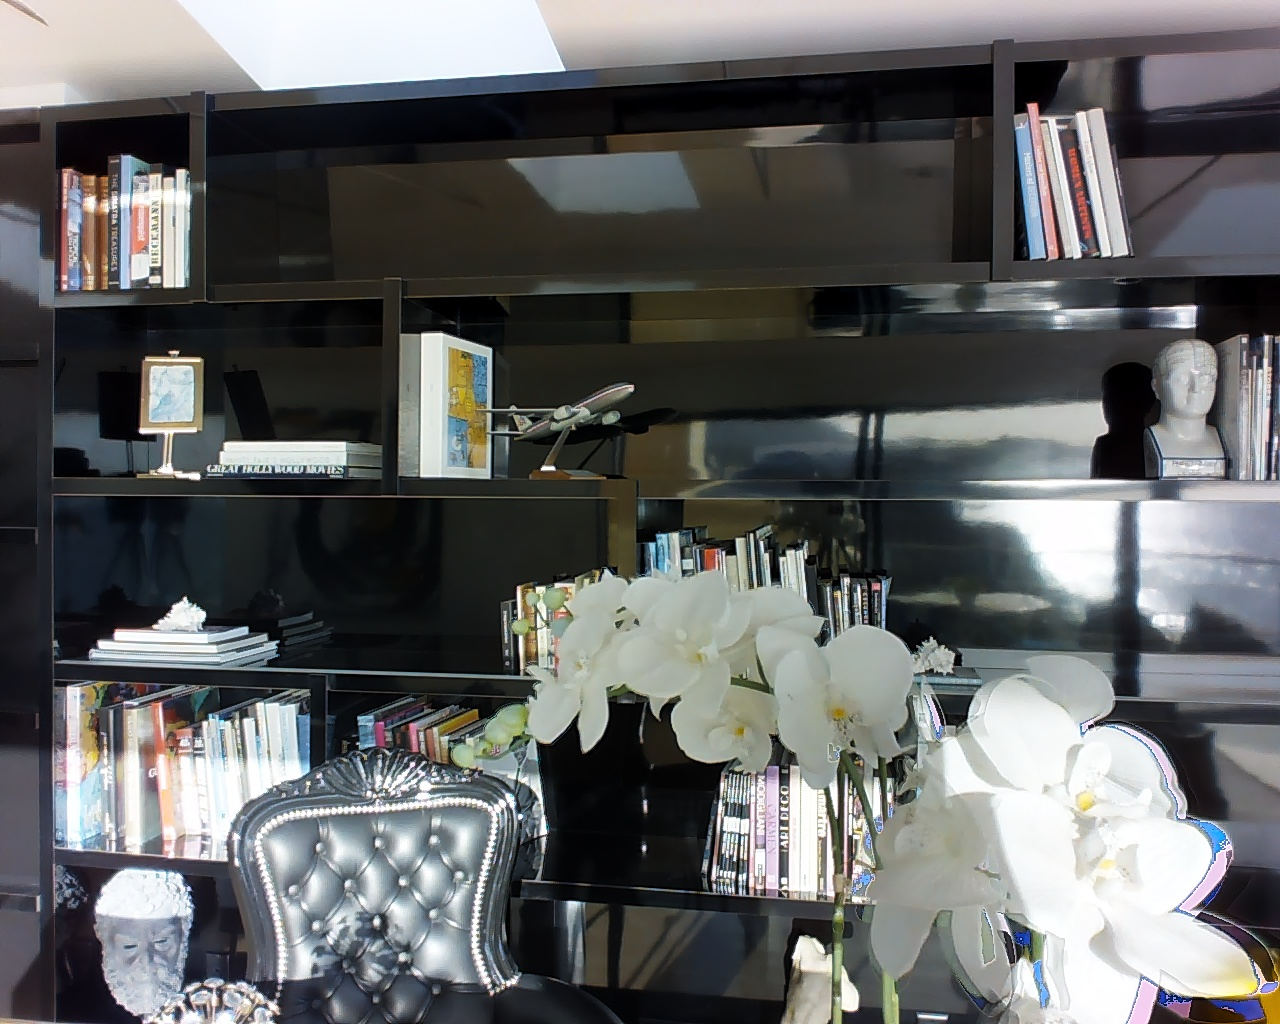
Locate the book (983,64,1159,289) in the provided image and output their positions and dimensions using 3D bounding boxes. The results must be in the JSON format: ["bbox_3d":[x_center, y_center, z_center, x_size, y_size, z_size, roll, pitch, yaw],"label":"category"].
[{"bbox_3d":[0.870,-0.670,2.200,0.280,0.370,0.260,1,1,9],"label":"book"}]

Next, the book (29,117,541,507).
[{"bbox_3d":[-0.840,-0.440,2.610,1.130,0.840,0.380,1,1,10],"label":"book"}]

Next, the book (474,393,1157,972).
[{"bbox_3d":[0.360,0.330,2.450,1.399,1.151,0.410,1,1,10],"label":"book"}]
